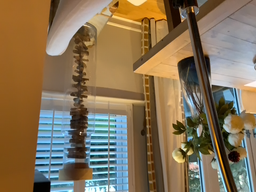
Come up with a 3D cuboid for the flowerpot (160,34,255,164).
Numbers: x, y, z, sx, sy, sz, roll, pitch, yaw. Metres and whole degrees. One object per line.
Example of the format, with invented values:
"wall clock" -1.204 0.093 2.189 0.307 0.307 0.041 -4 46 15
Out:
"flowerpot" 0.440 0.060 1.230 0.230 0.620 0.480 6 163 -27
